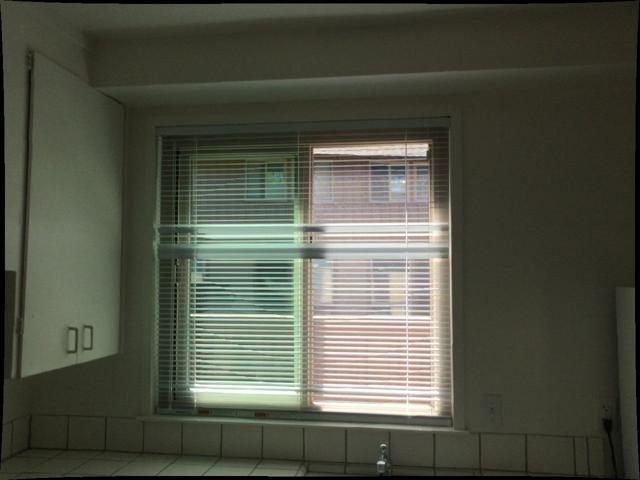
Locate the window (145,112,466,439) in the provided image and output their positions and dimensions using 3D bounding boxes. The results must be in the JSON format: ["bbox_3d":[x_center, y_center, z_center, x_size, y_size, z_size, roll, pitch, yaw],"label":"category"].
[{"bbox_3d":[-0.060,0.120,2.220,1.188,1.132,0.240,0,0,10],"label":"window"}]
